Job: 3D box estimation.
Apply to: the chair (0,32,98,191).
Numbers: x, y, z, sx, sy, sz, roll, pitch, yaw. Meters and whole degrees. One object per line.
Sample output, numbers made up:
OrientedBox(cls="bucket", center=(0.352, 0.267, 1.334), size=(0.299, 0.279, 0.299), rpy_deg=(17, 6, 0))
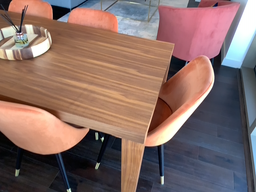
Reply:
OrientedBox(cls="chair", center=(-0.520, 0.160, 1.300), size=(0.490, 0.850, 0.530), rpy_deg=(13, 41, 9))

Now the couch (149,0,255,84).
OrientedBox(cls="couch", center=(0.810, -0.750, 2.540), size=(0.760, 0.790, 0.710), rpy_deg=(-17, 45, -24))
